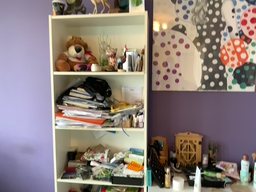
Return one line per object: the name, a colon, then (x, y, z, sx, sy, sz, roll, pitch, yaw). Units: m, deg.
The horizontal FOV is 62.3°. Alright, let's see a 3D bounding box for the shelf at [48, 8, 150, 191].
shelf: (-0.170, 0.380, 1.470, 0.610, 1.810, 0.290, 1, 5, 7)
